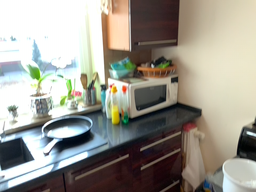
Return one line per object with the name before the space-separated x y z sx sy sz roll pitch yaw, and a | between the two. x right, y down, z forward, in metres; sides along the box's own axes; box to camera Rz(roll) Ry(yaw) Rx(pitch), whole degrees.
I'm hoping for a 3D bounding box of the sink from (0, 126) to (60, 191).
sink | -0.620 0.380 1.250 0.230 0.180 0.530 -13 21 -35
